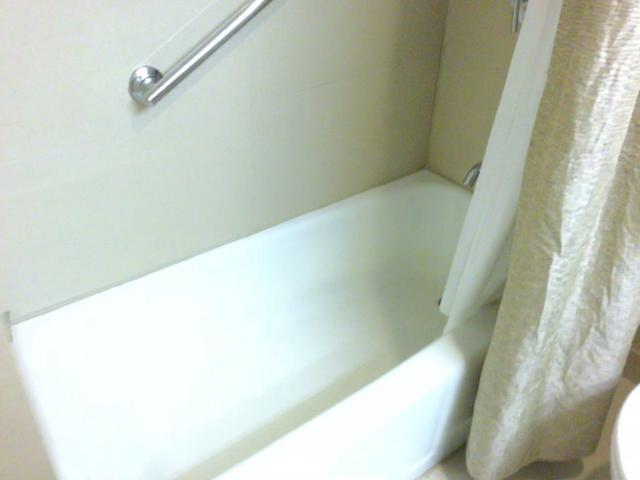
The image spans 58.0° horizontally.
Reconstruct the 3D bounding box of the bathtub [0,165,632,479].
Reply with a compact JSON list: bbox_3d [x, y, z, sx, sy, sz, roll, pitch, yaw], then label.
[{"bbox_3d":[0.020,0.280,1.520,1.450,0.440,0.740,-20,35,-31],"label":"bathtub"}]

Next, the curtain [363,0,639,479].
[{"bbox_3d":[0.550,-0.350,1.130,0.700,1.860,0.510,-20,35,-31],"label":"curtain"}]
